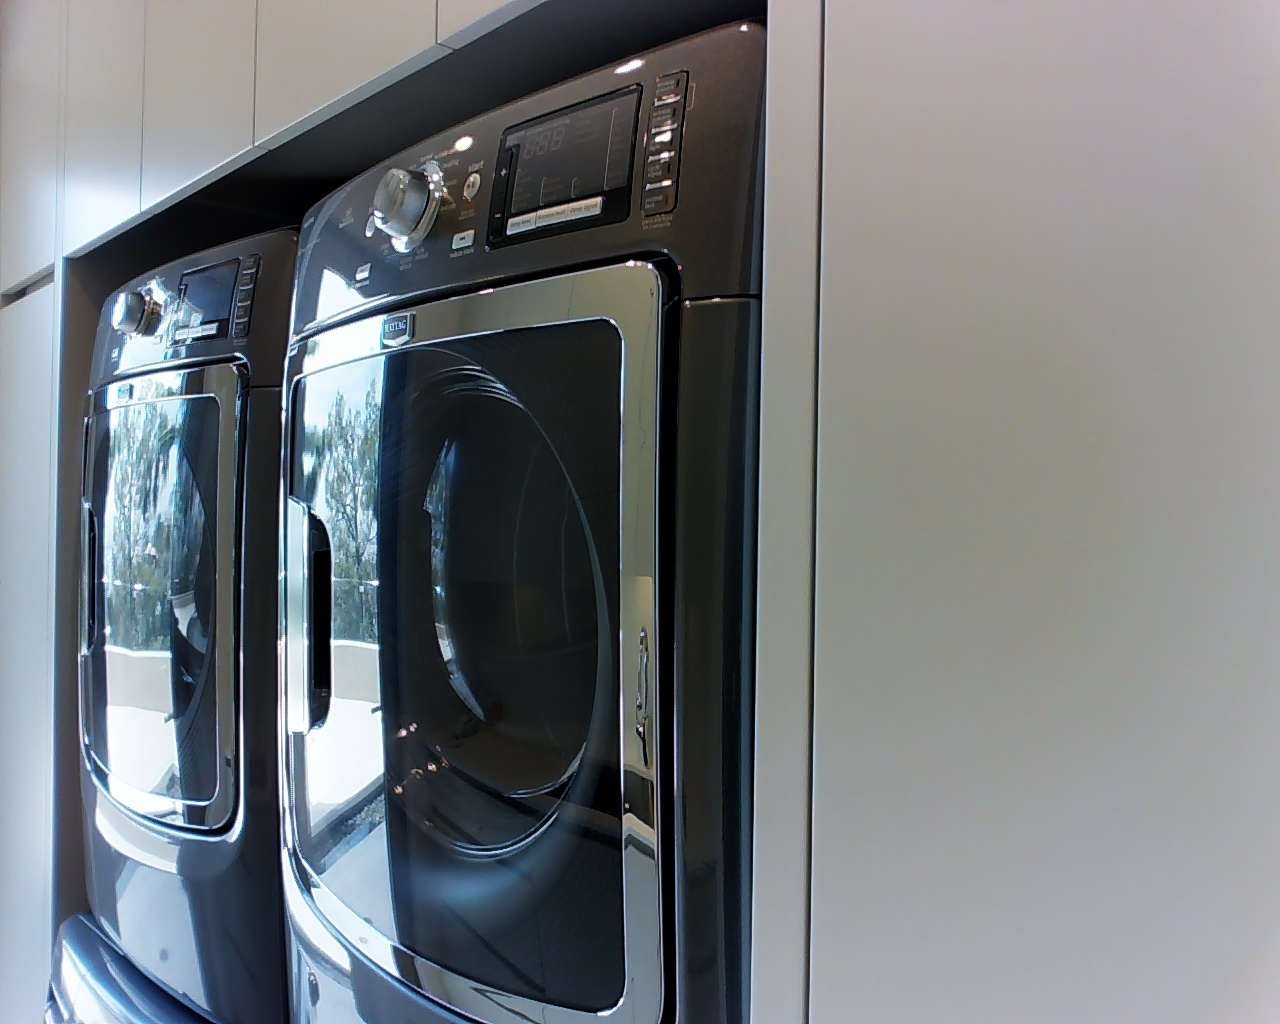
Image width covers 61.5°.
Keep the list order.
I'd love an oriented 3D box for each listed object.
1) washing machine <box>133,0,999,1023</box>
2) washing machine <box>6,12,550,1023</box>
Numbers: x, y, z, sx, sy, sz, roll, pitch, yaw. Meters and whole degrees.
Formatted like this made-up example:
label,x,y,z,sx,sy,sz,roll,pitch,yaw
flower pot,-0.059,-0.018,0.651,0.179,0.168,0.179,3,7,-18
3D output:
label,x,y,z,sx,sy,sz,roll,pitch,yaw
washing machine,-0.110,0.130,1.000,0.720,1.020,0.410,1,-1,44
washing machine,-0.540,0.090,1.480,0.380,1.160,0.820,2,-1,-43
